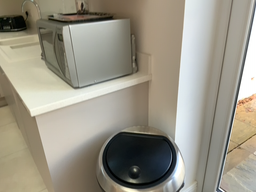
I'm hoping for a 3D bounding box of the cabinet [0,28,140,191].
[{"bbox_3d":[-0.780,-0.010,1.960,0.590,0.920,2.090,-19,31,-32],"label":"cabinet"}]
